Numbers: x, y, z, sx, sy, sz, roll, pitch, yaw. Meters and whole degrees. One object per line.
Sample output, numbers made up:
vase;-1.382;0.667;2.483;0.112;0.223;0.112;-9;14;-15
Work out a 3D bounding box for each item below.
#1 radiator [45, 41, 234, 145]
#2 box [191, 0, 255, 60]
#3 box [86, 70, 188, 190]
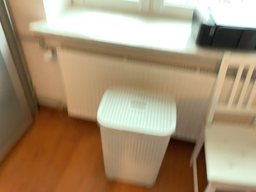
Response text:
radiator;0.050;0.000;1.670;1.230;0.690;0.200;8;41;5
box;0.630;-0.380;1.230;0.450;0.230;0.230;8;41;5
box;0.050;0.240;1.420;0.510;0.650;0.420;6;41;3
